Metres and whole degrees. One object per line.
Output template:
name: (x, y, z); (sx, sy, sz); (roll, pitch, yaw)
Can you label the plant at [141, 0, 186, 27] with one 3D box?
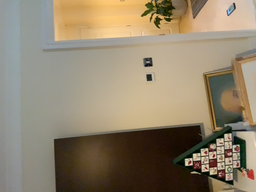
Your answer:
plant: (0.630, -1.580, 3.840); (0.430, 0.710, 0.590); (-108, 14, -69)
